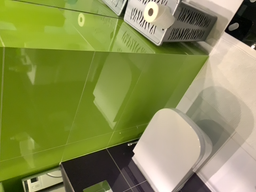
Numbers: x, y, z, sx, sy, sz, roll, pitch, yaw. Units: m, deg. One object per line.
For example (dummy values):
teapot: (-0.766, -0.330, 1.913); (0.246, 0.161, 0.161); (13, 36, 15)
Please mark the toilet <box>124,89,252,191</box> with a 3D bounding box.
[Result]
toilet: (0.360, 0.310, 1.380); (0.400, 0.480, 0.540); (50, 130, 32)
